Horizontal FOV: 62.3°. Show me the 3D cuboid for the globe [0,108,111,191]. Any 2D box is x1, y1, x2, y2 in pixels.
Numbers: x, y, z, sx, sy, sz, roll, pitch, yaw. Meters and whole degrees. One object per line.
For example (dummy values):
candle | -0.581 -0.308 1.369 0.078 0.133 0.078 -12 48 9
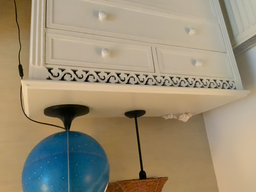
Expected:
globe | -0.290 0.280 0.830 0.340 0.390 0.310 2 161 -26
